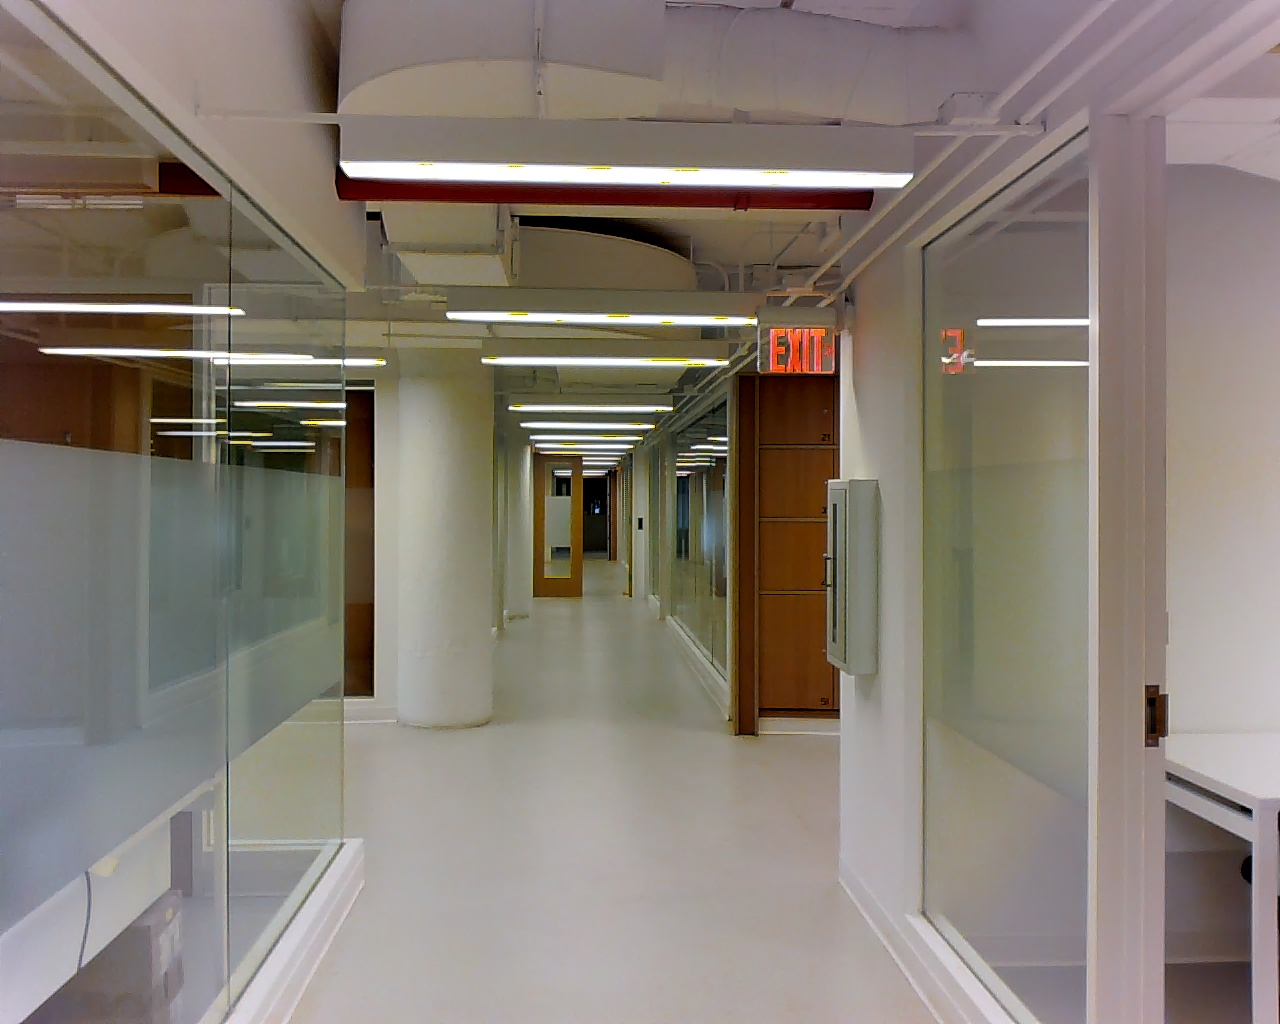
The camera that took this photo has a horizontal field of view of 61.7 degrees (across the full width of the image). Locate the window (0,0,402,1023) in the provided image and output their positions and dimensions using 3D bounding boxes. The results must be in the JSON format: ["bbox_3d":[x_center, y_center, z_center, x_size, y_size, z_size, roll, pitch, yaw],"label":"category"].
[{"bbox_3d":[-0.990,0.140,2.630,0.350,2.571,3.190,0,0,-5],"label":"window"}]
